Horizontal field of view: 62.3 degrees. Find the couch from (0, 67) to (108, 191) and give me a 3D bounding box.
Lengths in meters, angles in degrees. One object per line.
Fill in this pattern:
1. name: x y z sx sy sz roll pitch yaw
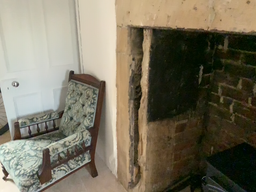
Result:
1. couch: -0.710 0.300 1.940 0.720 0.900 0.760 20 28 40
